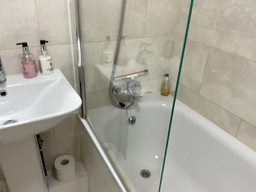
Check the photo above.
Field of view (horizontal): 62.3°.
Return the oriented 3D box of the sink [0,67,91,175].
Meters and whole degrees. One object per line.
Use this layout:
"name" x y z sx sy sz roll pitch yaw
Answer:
"sink" -0.500 0.080 0.860 0.560 0.180 0.450 -12 32 -26
